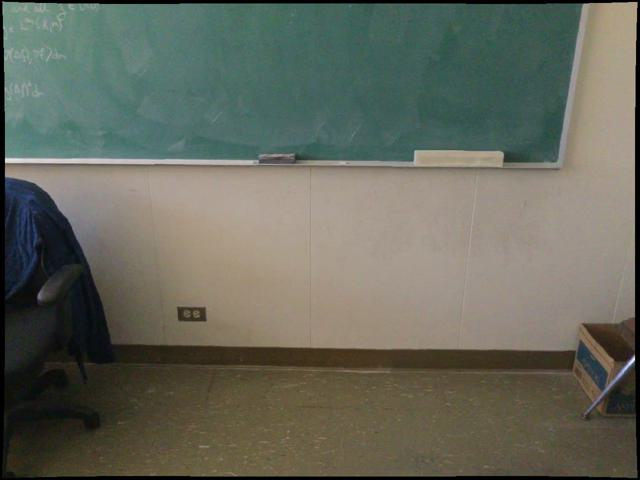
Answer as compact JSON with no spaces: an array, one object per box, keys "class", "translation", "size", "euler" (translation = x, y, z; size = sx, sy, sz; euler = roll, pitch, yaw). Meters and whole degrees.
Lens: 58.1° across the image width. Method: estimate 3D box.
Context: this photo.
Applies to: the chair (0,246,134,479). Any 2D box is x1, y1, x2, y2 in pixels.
[{"class":"chair","translation":[-1.117,0.431,2.010],"size":[0.648,0.651,0.550],"euler":[-1,22,4]}]
